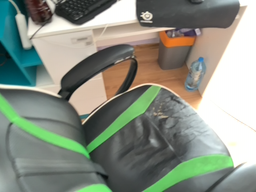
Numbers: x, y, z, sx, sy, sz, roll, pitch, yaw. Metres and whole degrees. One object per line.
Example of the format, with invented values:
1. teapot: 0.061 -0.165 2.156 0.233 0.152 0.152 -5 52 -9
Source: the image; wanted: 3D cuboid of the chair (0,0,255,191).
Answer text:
1. chair: 0.000 0.160 0.730 0.830 1.220 0.730 -29 61 -16
